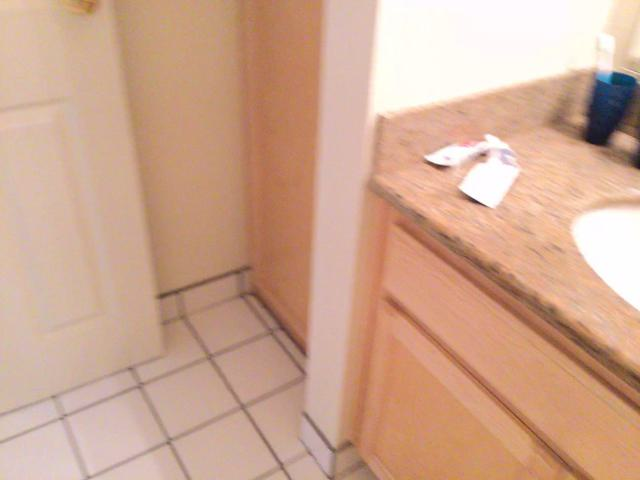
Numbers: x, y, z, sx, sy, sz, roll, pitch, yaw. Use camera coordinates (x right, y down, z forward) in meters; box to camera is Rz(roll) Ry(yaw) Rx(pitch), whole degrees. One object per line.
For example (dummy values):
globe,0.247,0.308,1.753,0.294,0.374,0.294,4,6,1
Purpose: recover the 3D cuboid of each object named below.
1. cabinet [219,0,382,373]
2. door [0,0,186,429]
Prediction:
cabinet,-0.100,-0.210,1.470,0.100,1.180,0.420,-17,45,-30
door,-0.720,-0.160,1.110,0.830,1.480,0.060,-19,41,-29
